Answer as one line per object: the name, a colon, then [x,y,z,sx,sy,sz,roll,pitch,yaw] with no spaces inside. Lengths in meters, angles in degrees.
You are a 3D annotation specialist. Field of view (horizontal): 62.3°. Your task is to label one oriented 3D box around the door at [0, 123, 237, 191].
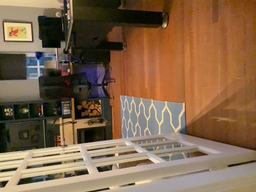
door: [-0.580,0.370,1.290,0.880,2.270,0.100,178,89,-71]
